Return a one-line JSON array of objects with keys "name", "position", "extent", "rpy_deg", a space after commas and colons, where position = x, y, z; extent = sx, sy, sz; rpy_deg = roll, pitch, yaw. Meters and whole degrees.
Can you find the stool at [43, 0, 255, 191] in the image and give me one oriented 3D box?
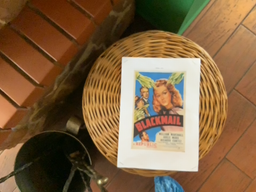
[{"name": "stool", "position": [0.090, 0.040, 0.760], "extent": [0.440, 0.390, 0.450], "rpy_deg": [39, 88, 4]}]
